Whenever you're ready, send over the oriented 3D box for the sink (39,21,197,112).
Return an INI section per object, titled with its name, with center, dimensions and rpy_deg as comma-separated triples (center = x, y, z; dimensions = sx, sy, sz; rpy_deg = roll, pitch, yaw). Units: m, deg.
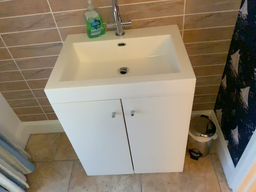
[sink]
center = -0.040, -0.160, 1.010
dimensions = 0.600, 0.140, 0.450
rpy_deg = -4, 44, 4
